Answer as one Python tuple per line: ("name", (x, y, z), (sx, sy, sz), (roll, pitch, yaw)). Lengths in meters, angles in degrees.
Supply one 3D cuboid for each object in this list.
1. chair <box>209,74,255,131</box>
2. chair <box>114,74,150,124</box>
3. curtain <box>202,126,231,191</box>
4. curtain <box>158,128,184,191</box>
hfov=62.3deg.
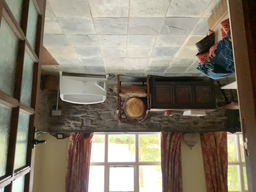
("chair", (1.800, 0.140, 3.670), (0.490, 0.920, 0.560), (0, 169, -2))
("chair", (0.050, 0.070, 3.670), (0.560, 0.780, 0.550), (0, 169, -2))
("curtain", (1.560, 1.130, 3.760), (0.370, 1.170, 0.150), (0, 169, -1))
("curtain", (0.760, 1.140, 3.760), (0.390, 1.120, 0.110), (1, 169, -3))
